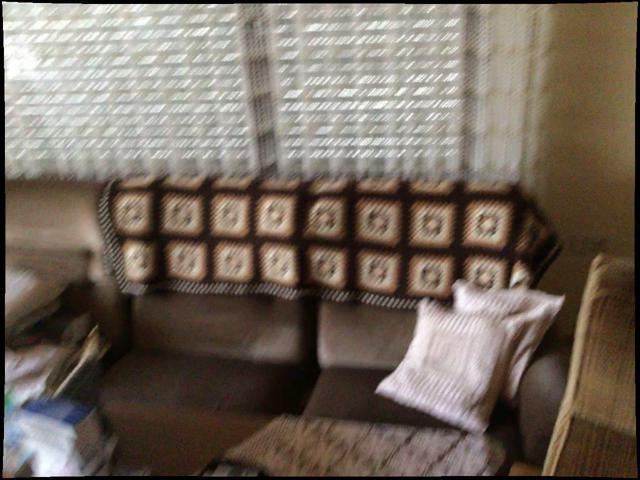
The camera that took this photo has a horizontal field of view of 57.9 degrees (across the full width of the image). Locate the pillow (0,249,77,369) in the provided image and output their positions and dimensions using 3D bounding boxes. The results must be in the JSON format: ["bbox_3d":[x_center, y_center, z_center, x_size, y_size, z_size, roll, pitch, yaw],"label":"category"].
[{"bbox_3d":[-1.119,0.210,1.930,0.380,0.180,0.430,2,26,8],"label":"pillow"}]

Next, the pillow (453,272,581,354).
[{"bbox_3d":[0.569,0.210,1.720,0.320,0.120,0.230,2,26,8],"label":"pillow"}]

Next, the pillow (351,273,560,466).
[{"bbox_3d":[0.390,0.340,1.680,0.440,0.230,0.410,17,32,35],"label":"pillow"}]
